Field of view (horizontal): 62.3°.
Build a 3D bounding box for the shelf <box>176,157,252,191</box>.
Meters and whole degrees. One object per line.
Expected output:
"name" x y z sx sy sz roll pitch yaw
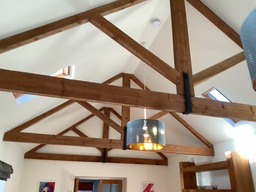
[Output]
"shelf" 1.710 2.510 4.320 0.400 2.200 1.930 7 -24 -15
